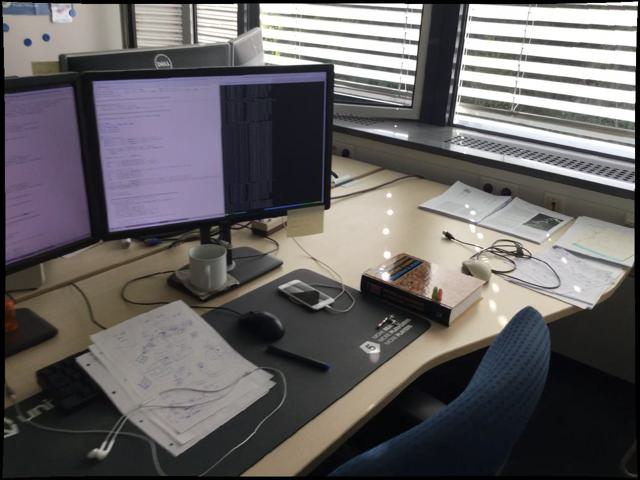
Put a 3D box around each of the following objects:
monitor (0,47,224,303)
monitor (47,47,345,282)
[{"bbox_3d":[-0.549,-0.120,1.100,0.140,0.380,0.830,21,32,33],"label":"monitor"},{"bbox_3d":[-0.250,-0.190,1.330,0.610,0.440,0.130,-12,29,-25],"label":"monitor"}]
